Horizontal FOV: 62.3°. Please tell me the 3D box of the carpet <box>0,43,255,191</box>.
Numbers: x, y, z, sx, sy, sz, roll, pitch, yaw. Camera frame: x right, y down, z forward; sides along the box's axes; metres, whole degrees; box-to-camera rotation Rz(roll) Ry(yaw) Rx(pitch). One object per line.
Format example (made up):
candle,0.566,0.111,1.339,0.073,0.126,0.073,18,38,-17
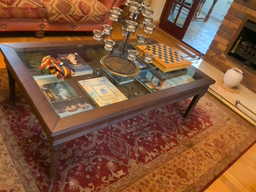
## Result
carpet,-0.050,0.080,1.850,2.460,0.220,1.770,-13,47,-39
